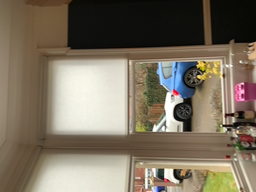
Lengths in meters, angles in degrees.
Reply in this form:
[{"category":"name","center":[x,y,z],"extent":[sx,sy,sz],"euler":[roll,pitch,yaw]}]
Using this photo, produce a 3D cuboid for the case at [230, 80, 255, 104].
[{"category":"case","center":[1.190,-0.030,2.130],"extent":[0.270,0.210,0.210],"euler":[48,-138,-82]}]
